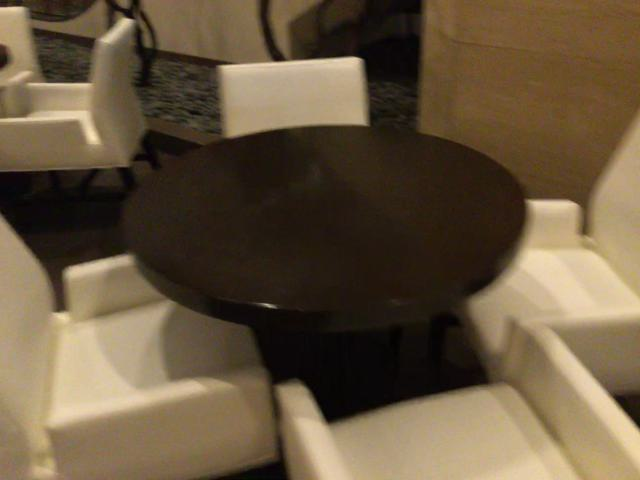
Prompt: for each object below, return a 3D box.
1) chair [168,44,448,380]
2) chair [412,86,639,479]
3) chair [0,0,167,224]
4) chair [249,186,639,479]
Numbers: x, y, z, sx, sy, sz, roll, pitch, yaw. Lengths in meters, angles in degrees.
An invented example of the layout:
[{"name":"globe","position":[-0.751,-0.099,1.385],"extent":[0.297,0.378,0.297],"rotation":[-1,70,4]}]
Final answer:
[{"name":"chair","position":[-0.060,-0.140,1.920],"extent":[0.680,0.760,0.780],"rotation":[-7,32,-6]},{"name":"chair","position":[0.670,0.090,1.530],"extent":[0.670,0.770,0.610],"rotation":[-7,32,-6]},{"name":"chair","position":[-1.160,-0.610,2.680],"extent":[0.700,0.800,0.610],"rotation":[-7,32,-6]},{"name":"chair","position":[0.270,0.470,0.970],"extent":[0.650,0.840,0.670],"rotation":[-7,32,-6]}]
